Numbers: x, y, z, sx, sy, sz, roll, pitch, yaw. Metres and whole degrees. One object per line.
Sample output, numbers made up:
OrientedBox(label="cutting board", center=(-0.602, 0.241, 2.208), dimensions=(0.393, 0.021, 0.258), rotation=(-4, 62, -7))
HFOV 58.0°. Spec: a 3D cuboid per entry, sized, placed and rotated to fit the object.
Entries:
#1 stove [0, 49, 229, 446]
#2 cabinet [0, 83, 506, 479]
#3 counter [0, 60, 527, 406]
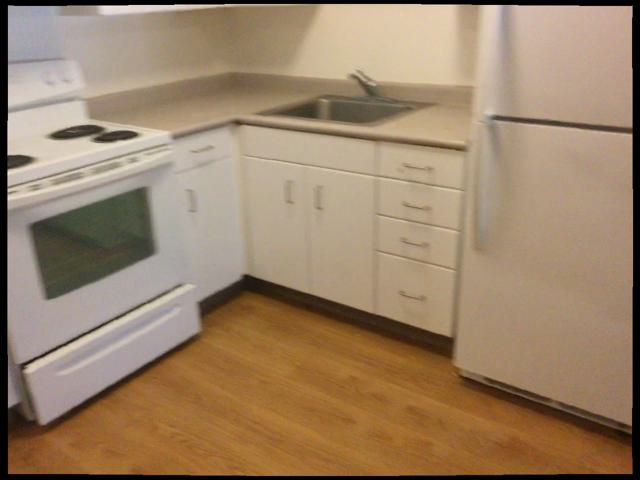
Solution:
OrientedBox(label="stove", center=(-1.058, -0.080, 2.320), dimensions=(0.819, 1.172, 0.960), rotation=(15, 30, 32))
OrientedBox(label="cabinet", center=(-0.459, 0.060, 2.310), dimensions=(1.668, 0.901, 2.009), rotation=(15, 30, 32))
OrientedBox(label="counter", center=(-0.479, -0.391, 2.160), dimensions=(1.838, 0.170, 2.089), rotation=(15, 30, 32))
